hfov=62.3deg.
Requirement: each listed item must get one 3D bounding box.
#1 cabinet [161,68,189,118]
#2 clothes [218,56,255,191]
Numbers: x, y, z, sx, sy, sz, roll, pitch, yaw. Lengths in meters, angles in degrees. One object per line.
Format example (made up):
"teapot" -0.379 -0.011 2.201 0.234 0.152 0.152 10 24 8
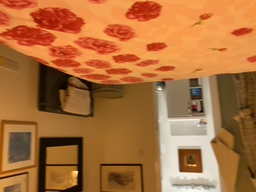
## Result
"cabinet" 0.820 -0.040 3.700 0.410 0.810 0.240 -3 170 15
"clothes" 1.130 0.280 2.110 0.200 1.290 0.290 4 169 -23
